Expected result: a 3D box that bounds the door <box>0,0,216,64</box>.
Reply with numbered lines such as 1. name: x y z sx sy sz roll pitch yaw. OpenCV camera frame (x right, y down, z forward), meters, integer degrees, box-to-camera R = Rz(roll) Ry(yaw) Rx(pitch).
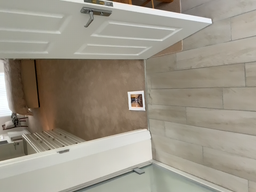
1. door: -0.420 -0.360 1.260 0.800 1.990 0.080 -21 78 55
